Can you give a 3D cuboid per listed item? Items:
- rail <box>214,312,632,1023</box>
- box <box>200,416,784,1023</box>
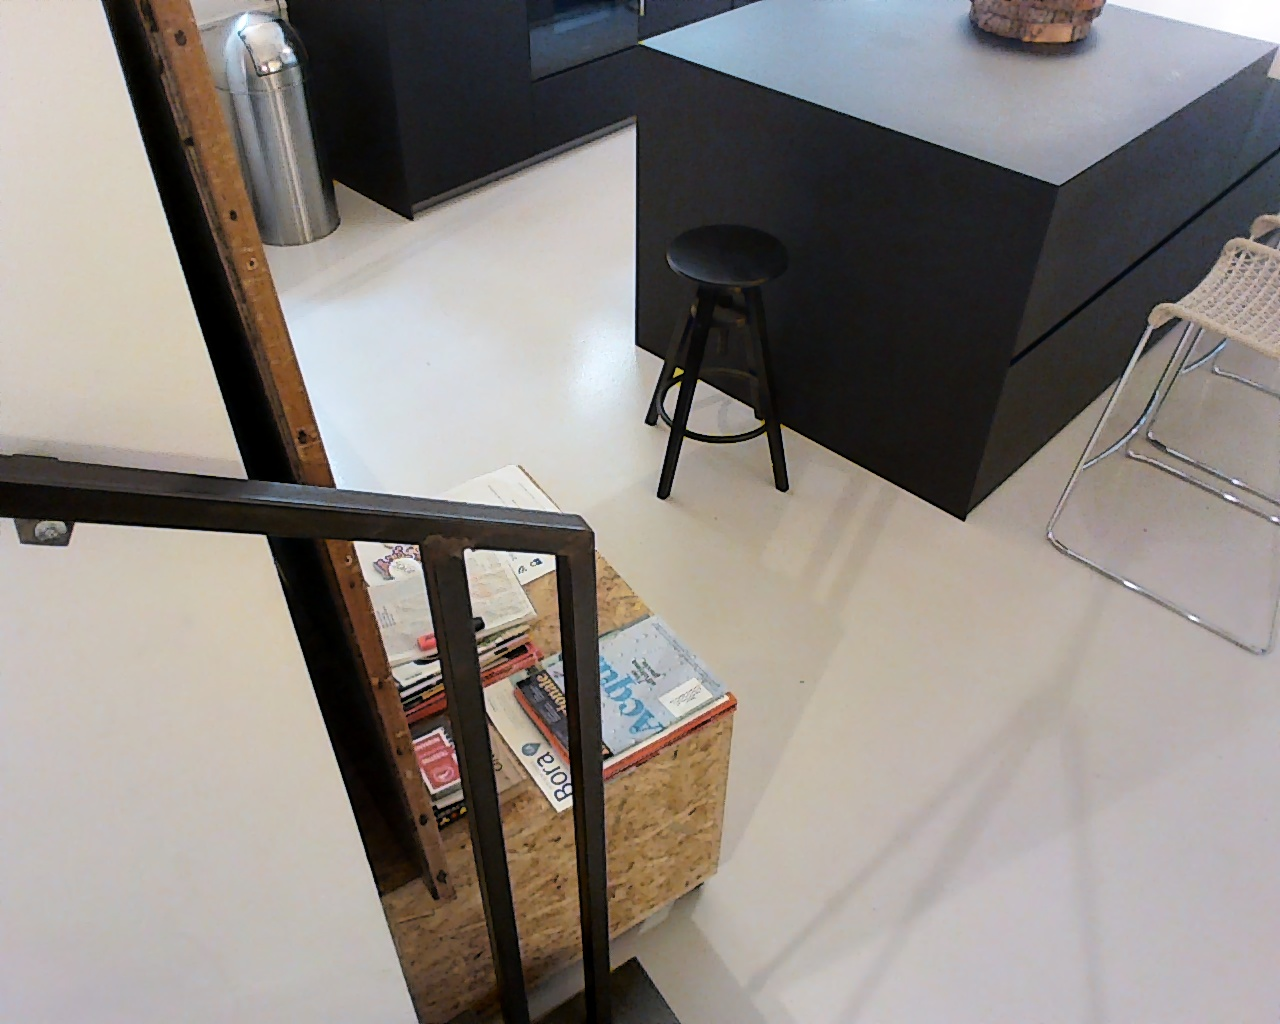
[{"bbox_3d":[-0.170,0.370,1.250,0.300,1.230,0.120,-22,47,-23],"label":"rail"},{"bbox_3d":[-0.270,0.390,1.940,0.650,0.650,0.780,-23,47,-24],"label":"box"}]
